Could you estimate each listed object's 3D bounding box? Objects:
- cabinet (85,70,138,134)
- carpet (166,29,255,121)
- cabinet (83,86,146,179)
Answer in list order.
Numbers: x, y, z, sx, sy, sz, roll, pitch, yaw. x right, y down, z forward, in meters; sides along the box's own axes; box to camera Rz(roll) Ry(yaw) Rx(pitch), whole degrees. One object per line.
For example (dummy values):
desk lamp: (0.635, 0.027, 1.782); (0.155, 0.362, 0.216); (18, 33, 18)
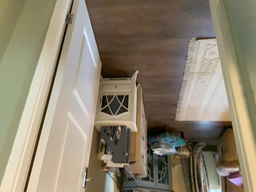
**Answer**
cabinet: (-0.130, 0.060, 2.060); (0.420, 0.540, 0.310); (0, 152, 6)
carpet: (1.770, -0.080, 2.220); (2.660, 0.020, 1.770); (-1, 152, 8)
cabinet: (-0.070, 0.510, 2.600); (0.550, 0.800, 1.090); (-1, 152, 6)
